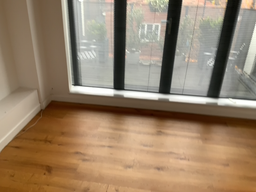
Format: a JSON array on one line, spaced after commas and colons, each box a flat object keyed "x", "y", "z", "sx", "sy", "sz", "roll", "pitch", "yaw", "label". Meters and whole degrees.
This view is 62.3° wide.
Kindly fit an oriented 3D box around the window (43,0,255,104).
[{"x": 0.500, "y": -1.000, "z": 2.780, "sx": 3.210, "sy": 2.060, "sz": 0.270, "roll": 5, "pitch": 26, "yaw": 6, "label": "window"}]
